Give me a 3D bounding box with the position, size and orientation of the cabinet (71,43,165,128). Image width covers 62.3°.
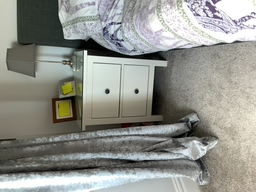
[{"bbox_3d":[-0.100,-0.080,1.700,0.420,0.620,0.550,-167,79,-65],"label":"cabinet"}]

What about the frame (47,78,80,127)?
[{"bbox_3d":[-0.510,0.050,1.670,0.180,0.170,0.340,17,96,66],"label":"frame"}]
